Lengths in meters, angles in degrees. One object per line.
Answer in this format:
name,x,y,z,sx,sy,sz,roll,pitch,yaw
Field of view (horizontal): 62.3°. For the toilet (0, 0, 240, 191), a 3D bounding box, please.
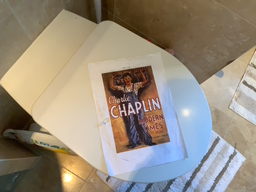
toilet,-0.050,0.040,0.780,0.570,0.450,0.390,33,74,2
